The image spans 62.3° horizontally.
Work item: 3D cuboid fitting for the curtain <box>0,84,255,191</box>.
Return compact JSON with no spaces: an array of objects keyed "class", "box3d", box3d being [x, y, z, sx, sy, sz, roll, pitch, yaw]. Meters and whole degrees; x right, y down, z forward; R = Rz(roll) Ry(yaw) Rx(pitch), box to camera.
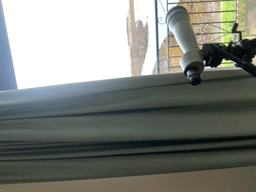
[{"class":"curtain","box3d":[0.240,0.180,0.830,0.200,2.290,0.380,-100,6,-74]}]
